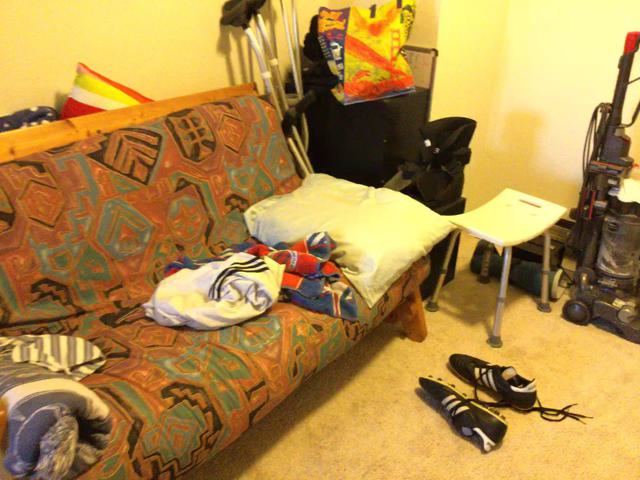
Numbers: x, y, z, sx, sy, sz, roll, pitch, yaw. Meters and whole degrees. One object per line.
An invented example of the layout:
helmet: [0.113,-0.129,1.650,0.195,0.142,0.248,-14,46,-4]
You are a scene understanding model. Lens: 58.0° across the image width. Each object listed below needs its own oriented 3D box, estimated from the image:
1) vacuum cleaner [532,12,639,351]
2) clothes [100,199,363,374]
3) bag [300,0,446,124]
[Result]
vacuum cleaner: [1.150,-0.220,2.100,0.380,1.100,0.430,-21,32,-38]
clothes: [-0.270,0.090,1.740,0.520,0.160,0.600,-21,32,-38]
bag: [0.200,-0.720,2.280,0.390,0.400,0.390,-21,32,-38]
